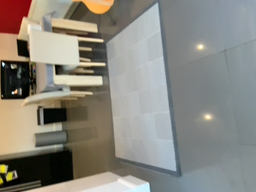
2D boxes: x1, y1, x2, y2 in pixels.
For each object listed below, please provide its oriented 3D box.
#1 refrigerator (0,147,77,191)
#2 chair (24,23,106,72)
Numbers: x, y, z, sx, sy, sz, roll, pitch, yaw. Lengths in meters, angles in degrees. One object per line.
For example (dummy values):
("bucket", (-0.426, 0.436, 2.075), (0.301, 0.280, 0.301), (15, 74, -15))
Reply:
("refrigerator", (-2.010, 1.700, 4.210), (0.820, 1.740, 0.980), (-12, 82, 58))
("chair", (-0.860, -0.610, 2.910), (0.550, 0.940, 0.450), (-11, 83, 58))
